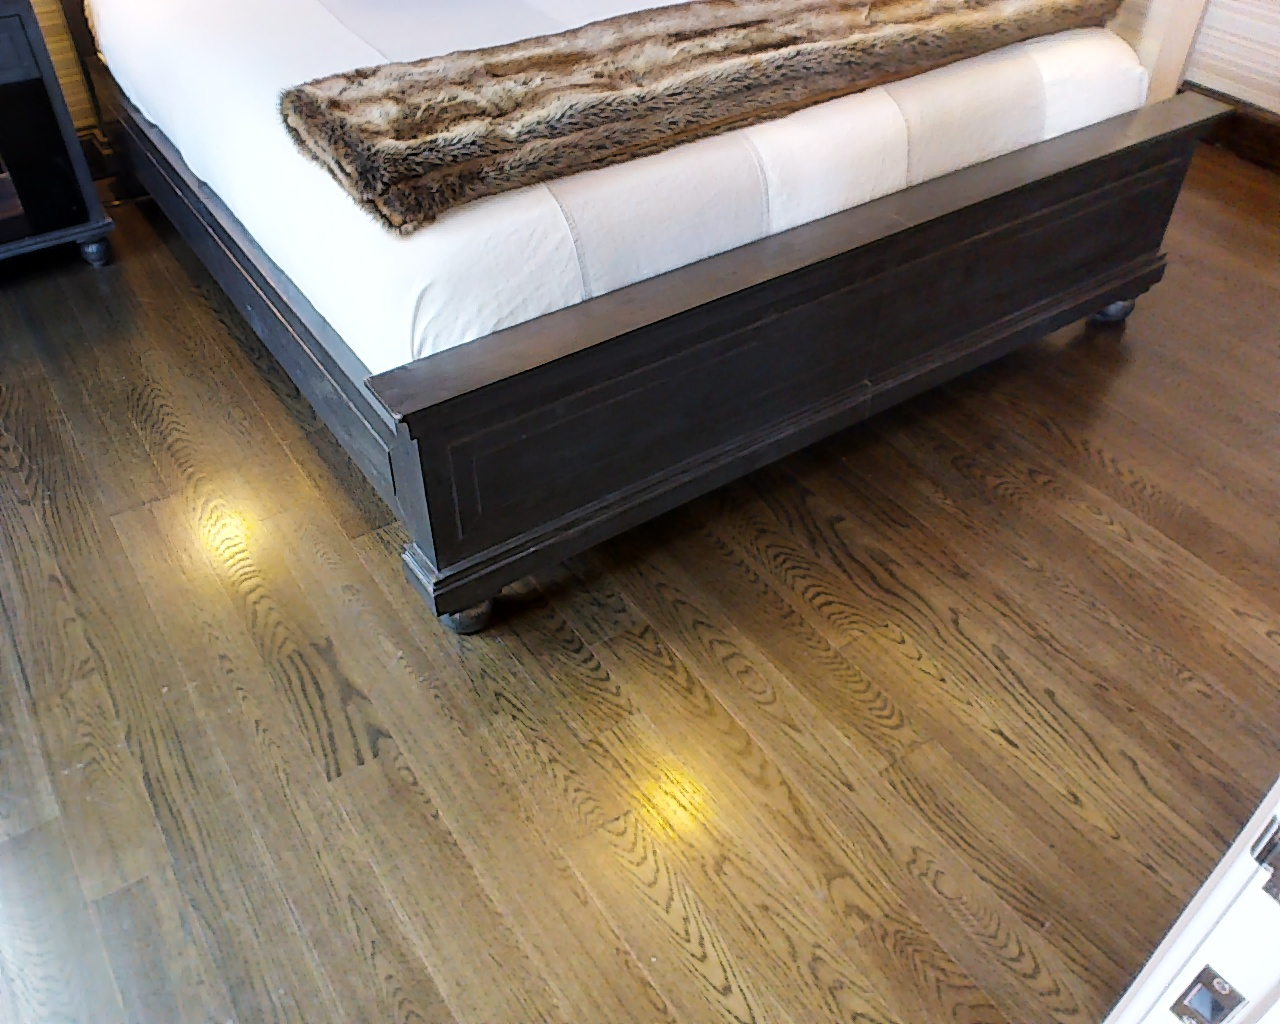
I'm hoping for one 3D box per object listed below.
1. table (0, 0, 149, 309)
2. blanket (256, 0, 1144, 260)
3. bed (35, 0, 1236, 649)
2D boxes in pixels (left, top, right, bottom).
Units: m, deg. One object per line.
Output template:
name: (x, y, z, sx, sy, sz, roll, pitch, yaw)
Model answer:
table: (-1.850, -1.000, 2.770, 0.750, 0.760, 0.640, -24, 48, -25)
blanket: (0.230, -0.920, 2.170, 1.860, 0.140, 0.460, -24, 48, -25)
bed: (-0.180, -1.040, 2.860, 2.100, 0.760, 2.220, -24, 48, -25)
